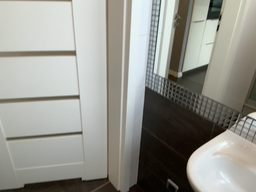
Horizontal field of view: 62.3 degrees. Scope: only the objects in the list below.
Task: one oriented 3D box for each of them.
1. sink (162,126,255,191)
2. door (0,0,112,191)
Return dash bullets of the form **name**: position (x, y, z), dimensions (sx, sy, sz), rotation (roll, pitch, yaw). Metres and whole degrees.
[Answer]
- **sink**: position (0.420, 0.340, 0.710), dimensions (0.350, 0.150, 0.480), rotation (-19, 35, -34)
- **door**: position (-0.510, -0.200, 1.150), dimensions (0.840, 2.040, 0.060), rotation (-2, 29, -10)
